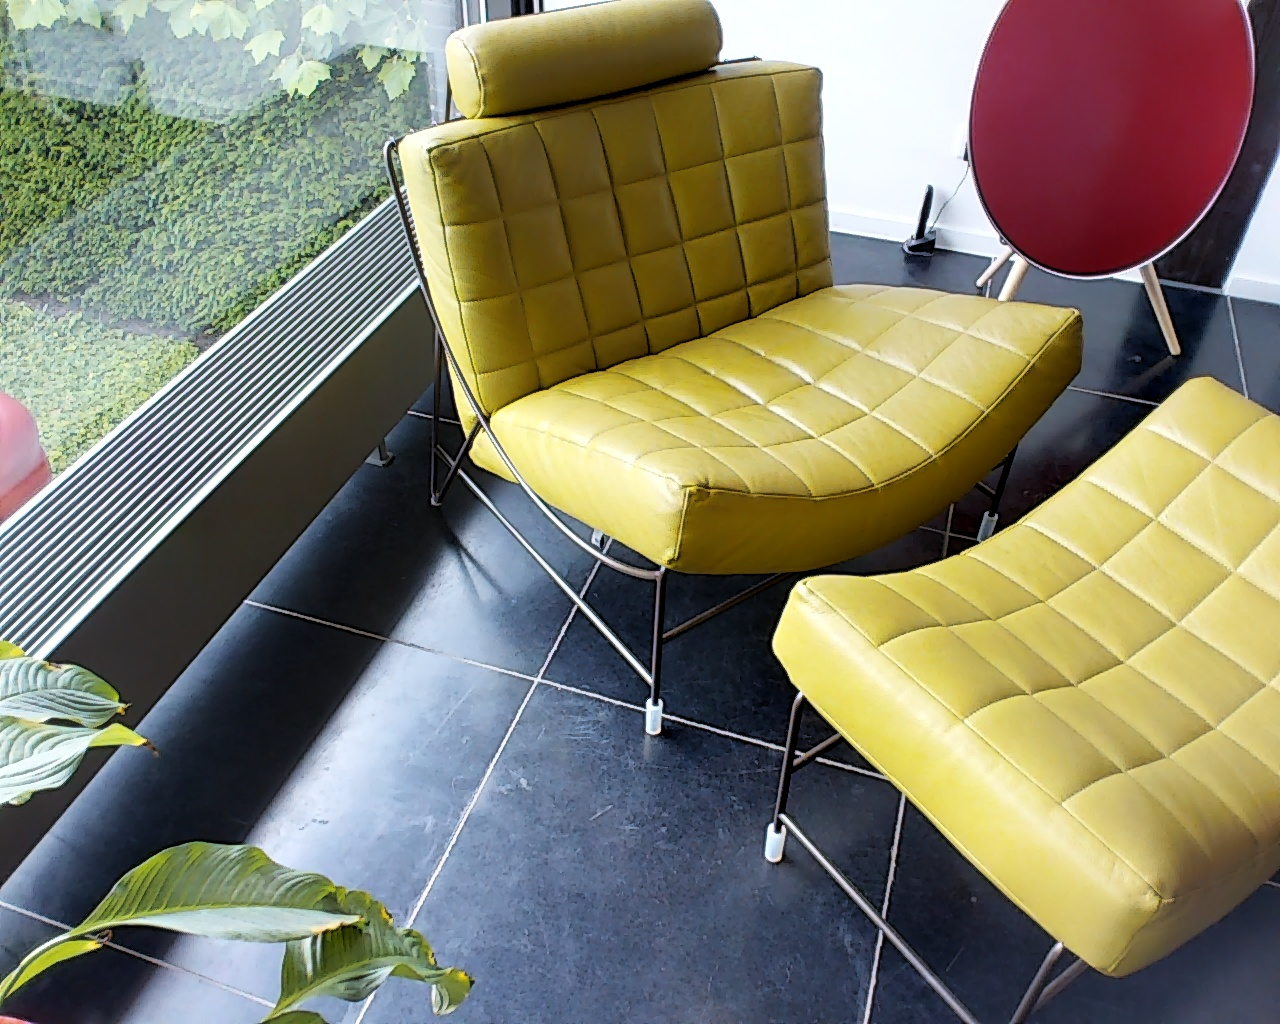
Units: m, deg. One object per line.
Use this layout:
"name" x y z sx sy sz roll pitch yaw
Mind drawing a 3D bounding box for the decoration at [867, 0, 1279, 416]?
"decoration" 0.980 -0.760 2.310 0.750 0.900 0.370 -17 44 -21
